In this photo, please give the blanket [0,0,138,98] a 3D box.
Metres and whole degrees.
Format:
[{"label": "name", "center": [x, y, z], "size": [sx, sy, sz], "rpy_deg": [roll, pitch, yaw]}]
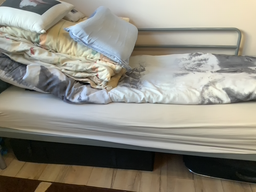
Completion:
[{"label": "blanket", "center": [-0.430, -0.390, 1.380], "size": [0.910, 0.490, 0.650], "rpy_deg": [3, 31, 9]}]
